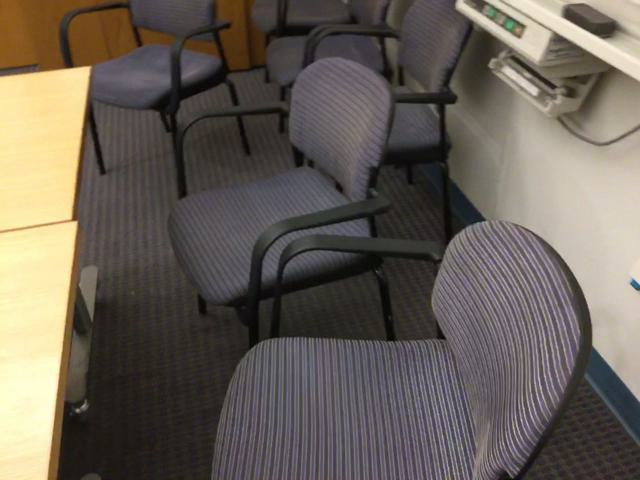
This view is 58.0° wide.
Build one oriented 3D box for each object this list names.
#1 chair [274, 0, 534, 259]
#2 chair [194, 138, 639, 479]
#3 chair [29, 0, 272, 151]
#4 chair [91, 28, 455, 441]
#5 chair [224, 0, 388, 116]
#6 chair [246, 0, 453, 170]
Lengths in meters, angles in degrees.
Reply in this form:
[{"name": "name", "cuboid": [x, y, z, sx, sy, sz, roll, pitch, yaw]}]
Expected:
[{"name": "chair", "cuboid": [0.210, -0.420, 1.960, 0.620, 0.700, 0.540, -9, 41, -14]}, {"name": "chair", "cuboid": [0.140, 0.250, 1.060, 0.630, 0.660, 0.570, -1, 40, -6]}, {"name": "chair", "cuboid": [-0.610, -0.770, 2.260, 0.610, 0.470, 0.630, 18, 42, 17]}, {"name": "chair", "cuboid": [-0.140, -0.040, 1.540, 0.620, 0.770, 0.570, -19, 45, -25]}, {"name": "chair", "cuboid": [-0.100, -1.140, 2.880, 0.660, 0.760, 0.640, -9, 41, -14]}, {"name": "chair", "cuboid": [0.070, -0.810, 2.450, 0.640, 0.710, 0.660, -9, 41, -14]}]
